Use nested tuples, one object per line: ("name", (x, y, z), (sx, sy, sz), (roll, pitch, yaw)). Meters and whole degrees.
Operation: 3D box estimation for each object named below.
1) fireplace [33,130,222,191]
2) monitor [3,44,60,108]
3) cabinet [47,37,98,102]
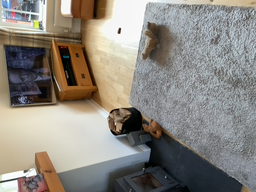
("fireplace", (-0.050, 0.940, 1.840), (1.200, 1.200, 0.630), (31, 118, 50))
("monitor", (-1.540, -0.340, 3.360), (0.080, 0.680, 1.100), (-46, 56, 47))
("cabinet", (-0.970, -0.460, 3.630), (0.360, 0.570, 1.040), (-47, 56, 47))
